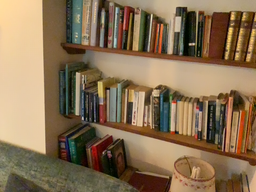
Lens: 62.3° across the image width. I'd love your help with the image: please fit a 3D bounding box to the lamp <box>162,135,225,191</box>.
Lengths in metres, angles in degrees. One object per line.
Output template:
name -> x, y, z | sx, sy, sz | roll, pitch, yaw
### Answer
lamp -> 0.320, 0.470, 1.070 | 0.230, 0.380, 0.390 | 11, 16, 20
